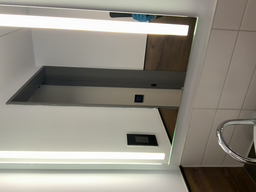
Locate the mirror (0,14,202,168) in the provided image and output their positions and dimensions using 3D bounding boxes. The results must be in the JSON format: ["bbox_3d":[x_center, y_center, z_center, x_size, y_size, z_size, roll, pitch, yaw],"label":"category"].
[{"bbox_3d":[-0.290,0.020,0.790,0.060,1.020,0.590,-100,13,-64],"label":"mirror"}]
